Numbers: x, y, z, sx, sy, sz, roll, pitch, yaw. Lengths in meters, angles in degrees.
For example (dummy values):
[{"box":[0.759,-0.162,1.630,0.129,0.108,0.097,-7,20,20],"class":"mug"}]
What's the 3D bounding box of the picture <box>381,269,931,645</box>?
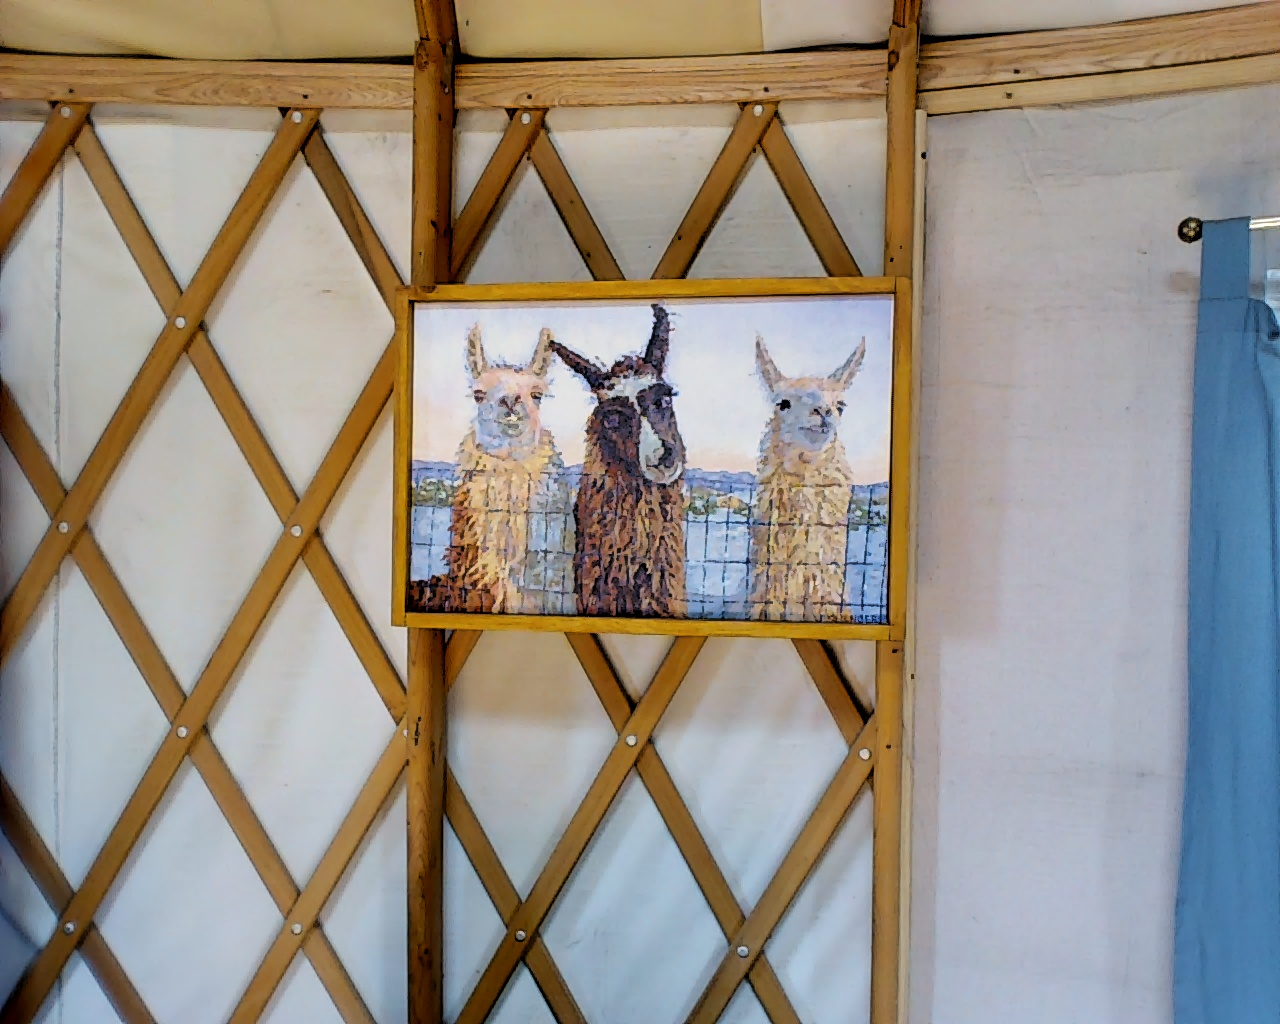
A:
[{"box":[0.010,-0.070,1.350,0.680,0.450,0.030,1,1,7],"class":"picture"}]
